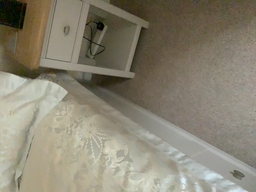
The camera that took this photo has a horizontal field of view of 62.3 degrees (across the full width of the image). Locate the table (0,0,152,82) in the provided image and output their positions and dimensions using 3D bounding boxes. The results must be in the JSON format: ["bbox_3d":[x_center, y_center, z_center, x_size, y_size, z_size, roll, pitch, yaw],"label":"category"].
[{"bbox_3d":[-0.270,-0.350,1.180,0.400,0.650,0.400,28,107,38],"label":"table"}]
